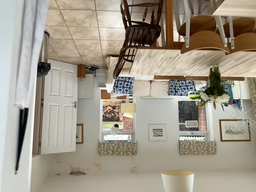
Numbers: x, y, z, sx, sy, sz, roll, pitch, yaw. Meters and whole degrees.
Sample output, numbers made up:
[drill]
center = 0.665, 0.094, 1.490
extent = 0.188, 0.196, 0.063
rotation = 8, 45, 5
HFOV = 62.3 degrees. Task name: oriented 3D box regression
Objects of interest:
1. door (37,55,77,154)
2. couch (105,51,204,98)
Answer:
[door]
center = -1.480, 0.180, 4.540
extent = 0.770, 2.010, 0.050
rotation = 8, 168, -43
[couch]
center = 0.490, -0.420, 4.750
extent = 1.960, 0.750, 1.090
rotation = 1, 171, -5
